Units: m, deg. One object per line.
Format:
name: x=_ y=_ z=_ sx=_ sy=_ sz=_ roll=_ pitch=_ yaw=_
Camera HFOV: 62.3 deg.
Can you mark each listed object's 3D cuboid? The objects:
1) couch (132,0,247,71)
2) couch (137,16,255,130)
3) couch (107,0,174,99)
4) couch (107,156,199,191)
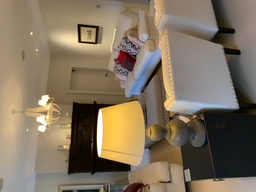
couch: x=0.610 y=-0.920 z=2.550 sx=0.910 sy=0.900 sz=0.850 roll=119 pitch=151 yaw=-65
couch: x=0.660 y=-0.150 z=2.240 sx=0.900 sy=0.880 sz=0.810 roll=119 pitch=151 yaw=-65
couch: x=0.110 y=-0.880 z=4.930 sx=2.240 sy=0.930 sz=1.100 roll=118 pitch=152 yaw=-64
couch: x=0.250 y=1.760 z=3.750 sx=2.210 sy=1.000 sz=1.080 roll=119 pitch=151 yaw=-65
